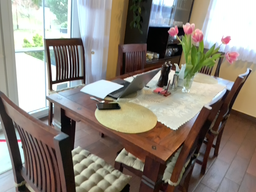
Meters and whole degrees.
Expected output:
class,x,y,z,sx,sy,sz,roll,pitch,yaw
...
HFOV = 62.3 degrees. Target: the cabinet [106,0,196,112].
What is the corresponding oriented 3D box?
class,x,y,z,sx,sy,sz,roll,pitch,yaw
cabinet,0.380,-0.790,3.280,0.470,1.720,1.350,24,28,32
